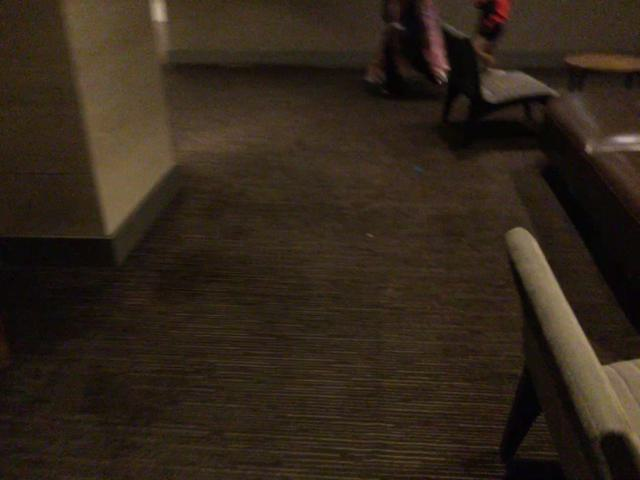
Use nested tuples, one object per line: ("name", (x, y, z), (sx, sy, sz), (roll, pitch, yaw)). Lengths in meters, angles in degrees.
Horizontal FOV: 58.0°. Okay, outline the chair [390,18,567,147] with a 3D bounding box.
("chair", (1.020, -1.100, 3.970), (0.830, 0.700, 0.810), (1, 24, -9))
